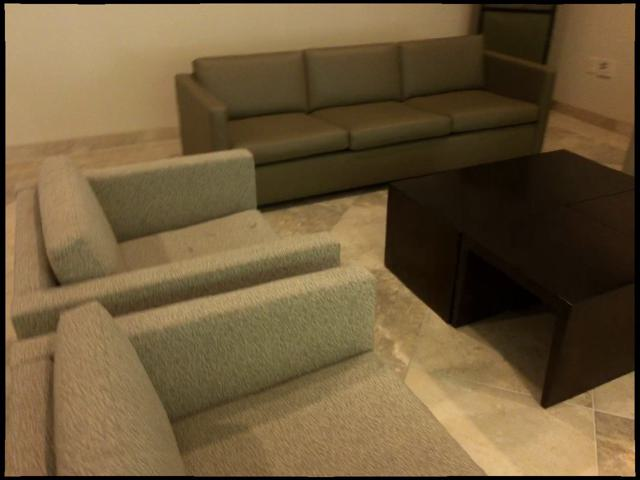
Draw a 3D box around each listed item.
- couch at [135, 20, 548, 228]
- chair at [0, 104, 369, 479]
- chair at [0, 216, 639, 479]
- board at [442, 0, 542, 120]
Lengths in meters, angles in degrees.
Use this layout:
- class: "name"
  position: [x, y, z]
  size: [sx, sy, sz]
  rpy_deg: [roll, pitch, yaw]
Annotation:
- class: "couch"
  position: [0.150, -0.842, 3.610]
  size: [2.267, 0.721, 0.980]
  rpy_deg: [-14, 34, -24]
- class: "chair"
  position: [-0.509, 0.120, 1.880]
  size: [0.879, 0.741, 1.040]
  rpy_deg: [-13, 33, -23]
- class: "chair"
  position: [-0.080, 0.551, 1.150]
  size: [0.879, 0.721, 0.900]
  rpy_deg: [-13, 33, -23]
- class: "board"
  position: [1.377, -1.794, 4.500]
  size: [0.599, 1.522, 0.560]
  rpy_deg: [9, 31, 12]
